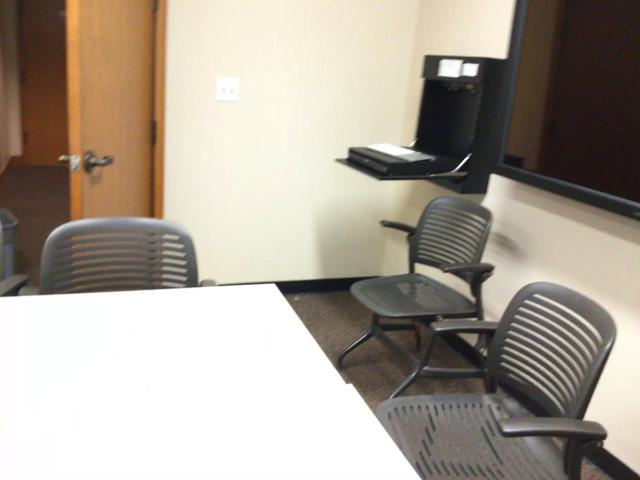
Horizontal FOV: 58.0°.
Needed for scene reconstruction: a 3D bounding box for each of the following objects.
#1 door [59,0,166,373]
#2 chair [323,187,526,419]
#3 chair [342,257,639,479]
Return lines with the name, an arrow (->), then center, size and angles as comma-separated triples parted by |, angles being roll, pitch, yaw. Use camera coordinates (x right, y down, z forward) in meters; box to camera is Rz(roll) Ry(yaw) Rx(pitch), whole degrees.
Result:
door -> -0.850, -0.440, 2.430 | 0.150, 1.790, 0.760 | 6, 13, -1
chair -> 0.400, 0.240, 2.460 | 0.540, 0.800, 0.530 | 1, 17, -19
chair -> 0.450, 0.560, 1.570 | 0.510, 0.860, 0.640 | 1, 17, -19
